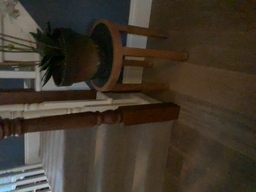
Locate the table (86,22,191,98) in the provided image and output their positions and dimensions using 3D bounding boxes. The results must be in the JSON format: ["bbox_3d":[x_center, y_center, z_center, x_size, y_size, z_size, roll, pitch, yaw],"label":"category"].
[{"bbox_3d":[0.050,-0.230,1.340,0.370,0.500,0.380,29,116,54],"label":"table"}]
